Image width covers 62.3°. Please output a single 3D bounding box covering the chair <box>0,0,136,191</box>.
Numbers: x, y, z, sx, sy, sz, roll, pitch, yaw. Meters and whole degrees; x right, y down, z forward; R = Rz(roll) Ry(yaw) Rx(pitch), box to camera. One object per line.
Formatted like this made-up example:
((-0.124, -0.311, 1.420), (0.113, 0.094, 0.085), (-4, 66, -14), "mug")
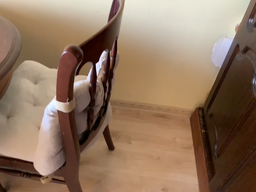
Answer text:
((-0.330, 0.090, 0.860), (0.530, 0.930, 0.530), (15, 45, 9), "chair")
